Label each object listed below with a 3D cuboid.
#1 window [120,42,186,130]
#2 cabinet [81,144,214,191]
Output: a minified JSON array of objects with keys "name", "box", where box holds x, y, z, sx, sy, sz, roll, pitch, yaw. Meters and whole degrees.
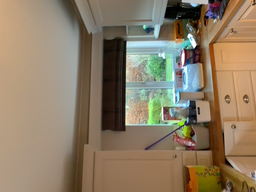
[{"name":"window","box":[0.320,-0.170,3.010,0.050,0.870,1.290,85,-176,-74]},{"name":"cabinet","box":[0.190,0.900,2.280,0.410,1.290,0.720,84,-175,-75]}]
